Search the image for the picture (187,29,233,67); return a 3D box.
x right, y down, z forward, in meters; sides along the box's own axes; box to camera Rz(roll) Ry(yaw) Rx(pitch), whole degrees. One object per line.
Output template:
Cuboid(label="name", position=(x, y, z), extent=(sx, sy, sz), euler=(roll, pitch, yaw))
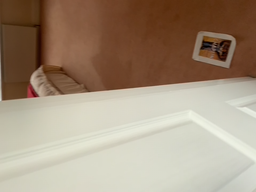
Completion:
Cuboid(label="picture", position=(0.560, -0.340, 1.480), extent=(0.280, 0.030, 0.210), euler=(29, 118, 44))
